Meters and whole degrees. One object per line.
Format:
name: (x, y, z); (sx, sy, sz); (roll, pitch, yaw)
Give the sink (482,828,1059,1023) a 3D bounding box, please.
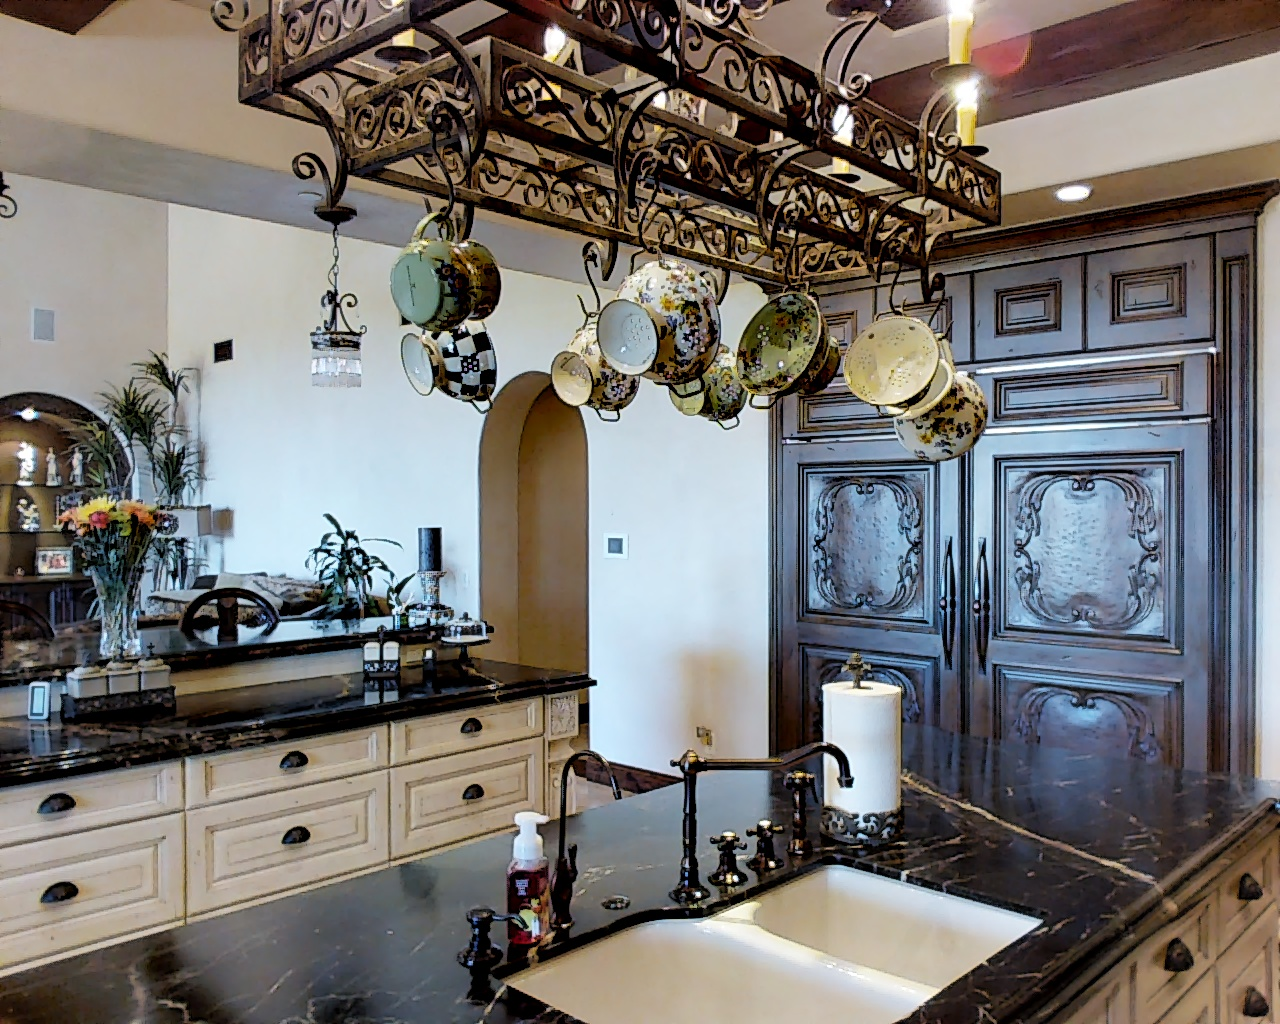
sink: (0.220, 0.760, 1.590); (0.500, 0.310, 0.750); (0, 1, 44)
